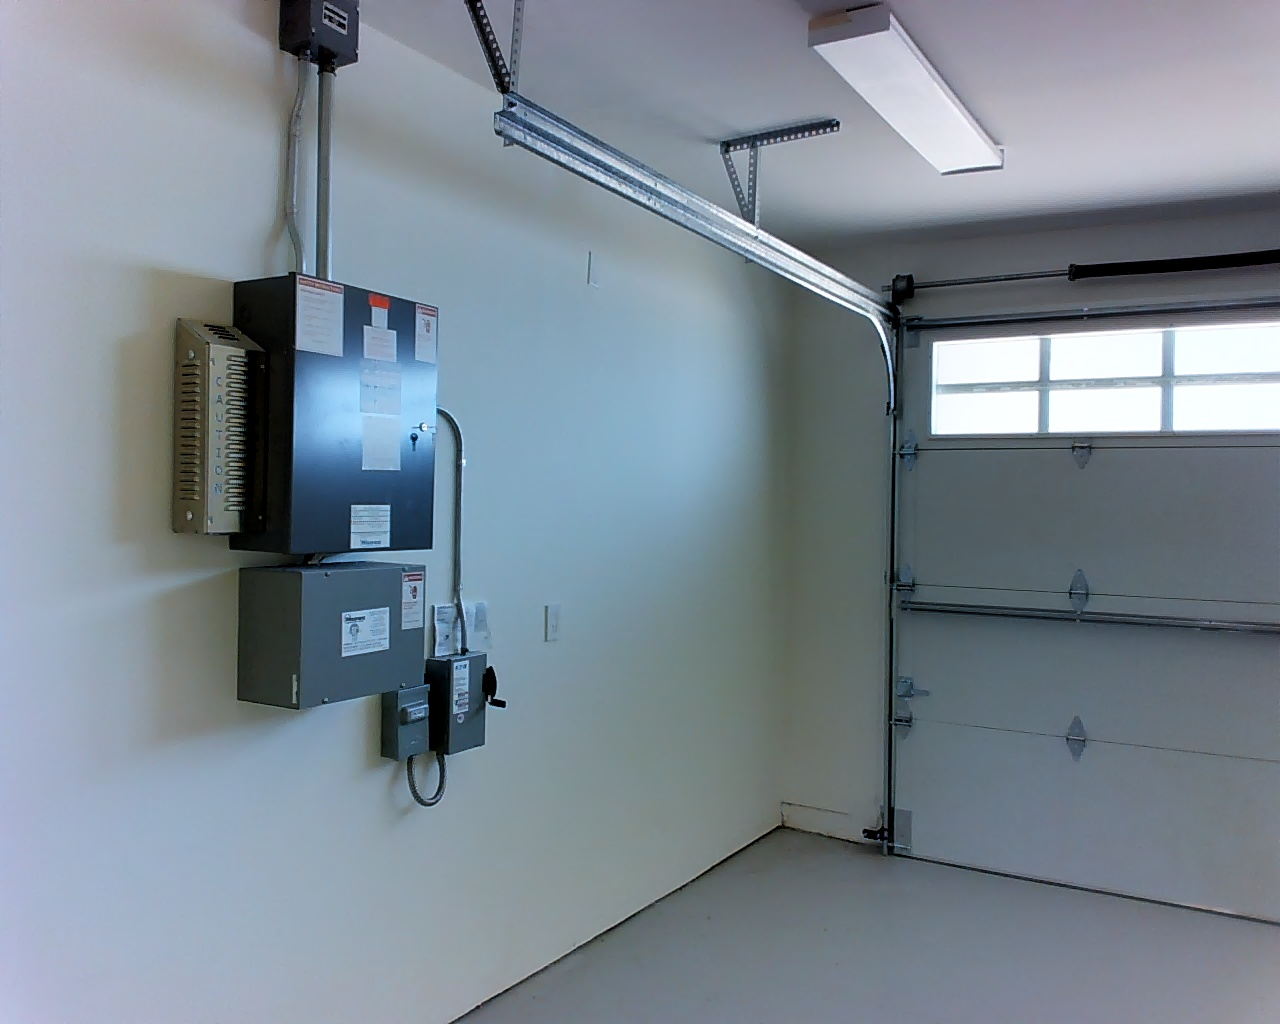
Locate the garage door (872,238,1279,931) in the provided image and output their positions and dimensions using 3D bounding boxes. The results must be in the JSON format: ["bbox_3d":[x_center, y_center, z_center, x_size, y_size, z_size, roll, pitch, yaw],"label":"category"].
[{"bbox_3d":[2.670,0.280,4.080,3.580,2.660,0.150,1,0,31],"label":"garage door"}]

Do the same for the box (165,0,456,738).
[{"bbox_3d":[-0.760,-0.400,2.570,0.230,1.740,0.650,1,0,31],"label":"box"}]
